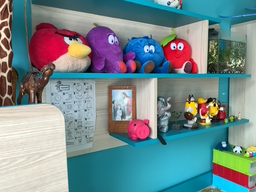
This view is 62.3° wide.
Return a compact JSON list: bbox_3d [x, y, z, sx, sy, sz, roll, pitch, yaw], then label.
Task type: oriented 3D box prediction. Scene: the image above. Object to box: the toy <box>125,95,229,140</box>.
[{"bbox_3d":[0.280,0.090,1.110,0.600,0.150,0.150,-3,6,-33],"label":"toy"}]
